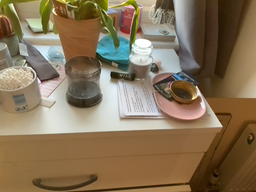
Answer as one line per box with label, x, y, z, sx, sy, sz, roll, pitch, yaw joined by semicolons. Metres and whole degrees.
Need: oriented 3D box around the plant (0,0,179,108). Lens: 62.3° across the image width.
plant;-0.140;-0.230;0.560;0.450;0.420;0.290;3;39;-7
